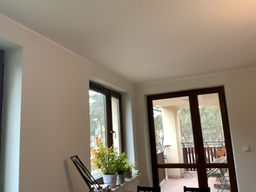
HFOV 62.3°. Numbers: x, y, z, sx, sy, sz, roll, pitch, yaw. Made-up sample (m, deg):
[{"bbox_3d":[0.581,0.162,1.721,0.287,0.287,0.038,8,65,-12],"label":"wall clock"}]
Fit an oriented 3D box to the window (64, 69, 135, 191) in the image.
[{"bbox_3d":[-0.350,0.560,3.290,0.240,1.560,1.610,-7,-11,23],"label":"window"}]
